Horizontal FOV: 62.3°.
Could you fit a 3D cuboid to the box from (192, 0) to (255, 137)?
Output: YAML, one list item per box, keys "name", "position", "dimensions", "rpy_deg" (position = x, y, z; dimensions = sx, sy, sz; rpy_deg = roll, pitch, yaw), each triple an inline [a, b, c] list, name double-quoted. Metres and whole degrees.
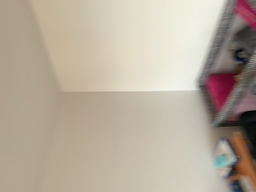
- name: "box"
  position: [1.250, -0.260, 2.140]
  dimensions: [1.380, 0.710, 0.730]
  rpy_deg: [92, 177, -50]
